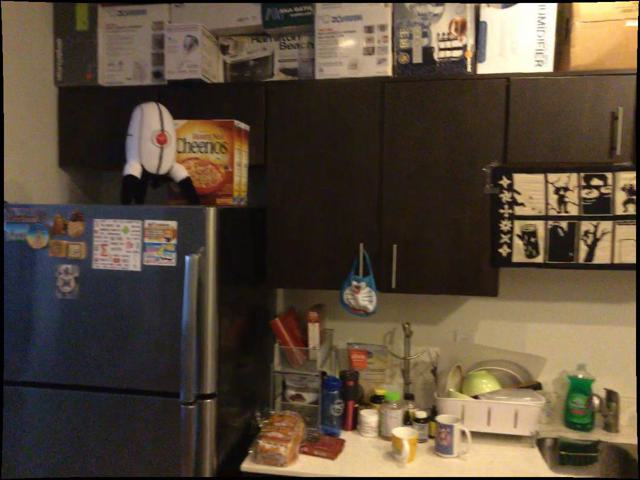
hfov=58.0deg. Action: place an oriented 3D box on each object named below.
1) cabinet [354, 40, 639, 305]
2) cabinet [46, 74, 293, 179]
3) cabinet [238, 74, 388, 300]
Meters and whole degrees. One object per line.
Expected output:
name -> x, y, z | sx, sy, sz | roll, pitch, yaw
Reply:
cabinet -> 1.337, -0.211, 1.890 | 2.414, 0.802, 0.370 | 1, 6, 8
cabinet -> -0.559, -0.421, 2.220 | 0.868, 0.361, 0.290 | 1, 6, 8
cabinet -> -0.010, -0.190, 2.100 | 0.489, 0.742, 0.340 | 1, 6, 8
